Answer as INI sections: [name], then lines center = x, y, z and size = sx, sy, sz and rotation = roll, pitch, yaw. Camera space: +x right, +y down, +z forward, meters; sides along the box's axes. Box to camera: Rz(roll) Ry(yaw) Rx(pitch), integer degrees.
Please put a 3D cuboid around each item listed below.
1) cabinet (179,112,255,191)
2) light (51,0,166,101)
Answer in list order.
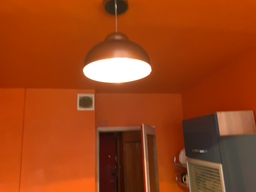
[cabinet]
center = 0.750, 0.550, 1.800
size = 0.330, 0.740, 0.650
rotation = 0, -12, -9
[light]
center = -0.080, -0.260, 1.170
size = 0.400, 0.390, 0.360
rotation = -11, -45, 36
